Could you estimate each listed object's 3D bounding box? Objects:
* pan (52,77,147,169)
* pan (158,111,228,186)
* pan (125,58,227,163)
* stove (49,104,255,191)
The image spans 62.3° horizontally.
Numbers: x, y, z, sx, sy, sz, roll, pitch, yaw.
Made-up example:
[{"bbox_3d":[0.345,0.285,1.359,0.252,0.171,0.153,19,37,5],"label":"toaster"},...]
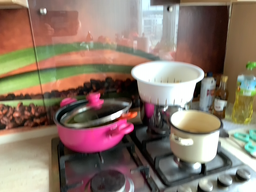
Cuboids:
[{"bbox_3d":[-0.120,0.070,0.790,0.280,0.180,0.300,-9,22,-18],"label":"pan"},{"bbox_3d":[0.200,0.160,0.680,0.170,0.170,0.110,-9,22,-18],"label":"pan"},{"bbox_3d":[0.160,0.030,0.840,0.260,0.290,0.290,-8,22,-17],"label":"pan"},{"bbox_3d":[0.040,0.190,0.730,0.590,0.020,0.580,-8,22,-17],"label":"stove"}]
